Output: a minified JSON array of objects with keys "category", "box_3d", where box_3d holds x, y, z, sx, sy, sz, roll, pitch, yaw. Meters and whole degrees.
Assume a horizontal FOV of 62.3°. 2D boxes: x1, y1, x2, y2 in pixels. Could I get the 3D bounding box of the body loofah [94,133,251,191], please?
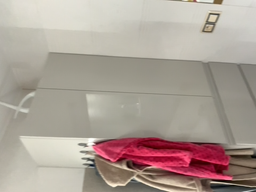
[{"category":"body loofah","box_3d":[0.210,0.450,1.300,0.460,0.790,0.220,98,173,-52]}]
